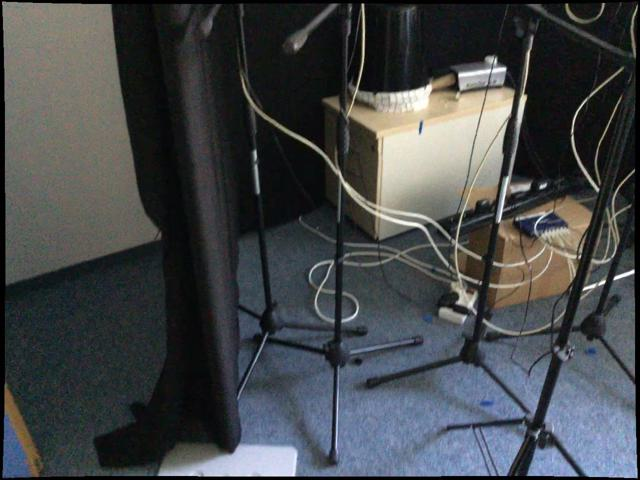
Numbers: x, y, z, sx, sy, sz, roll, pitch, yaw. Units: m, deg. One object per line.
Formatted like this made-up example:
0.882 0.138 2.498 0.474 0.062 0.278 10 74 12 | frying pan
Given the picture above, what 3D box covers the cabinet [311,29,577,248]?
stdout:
0.549 -0.511 2.670 1.019 0.600 0.550 -21 40 -24 | cabinet
